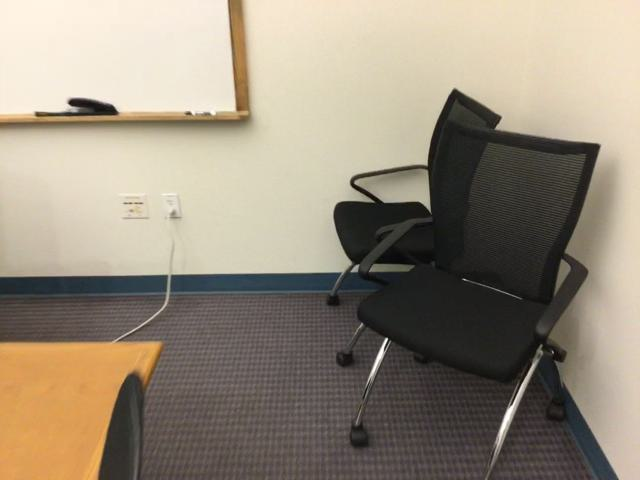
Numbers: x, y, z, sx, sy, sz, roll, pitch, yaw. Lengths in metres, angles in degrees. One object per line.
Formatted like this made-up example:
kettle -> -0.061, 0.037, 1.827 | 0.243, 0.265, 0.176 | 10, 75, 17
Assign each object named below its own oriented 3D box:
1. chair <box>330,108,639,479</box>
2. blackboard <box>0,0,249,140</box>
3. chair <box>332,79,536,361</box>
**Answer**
chair -> 0.440, 0.160, 1.710 | 0.570, 0.910, 0.570 | 21, 32, 36
blackboard -> -1.490, -0.770, 2.190 | 2.390, 0.720, 0.220 | 0, 26, -1
chair -> 0.350, -0.090, 2.200 | 0.570, 0.900, 0.590 | 0, 26, -1
